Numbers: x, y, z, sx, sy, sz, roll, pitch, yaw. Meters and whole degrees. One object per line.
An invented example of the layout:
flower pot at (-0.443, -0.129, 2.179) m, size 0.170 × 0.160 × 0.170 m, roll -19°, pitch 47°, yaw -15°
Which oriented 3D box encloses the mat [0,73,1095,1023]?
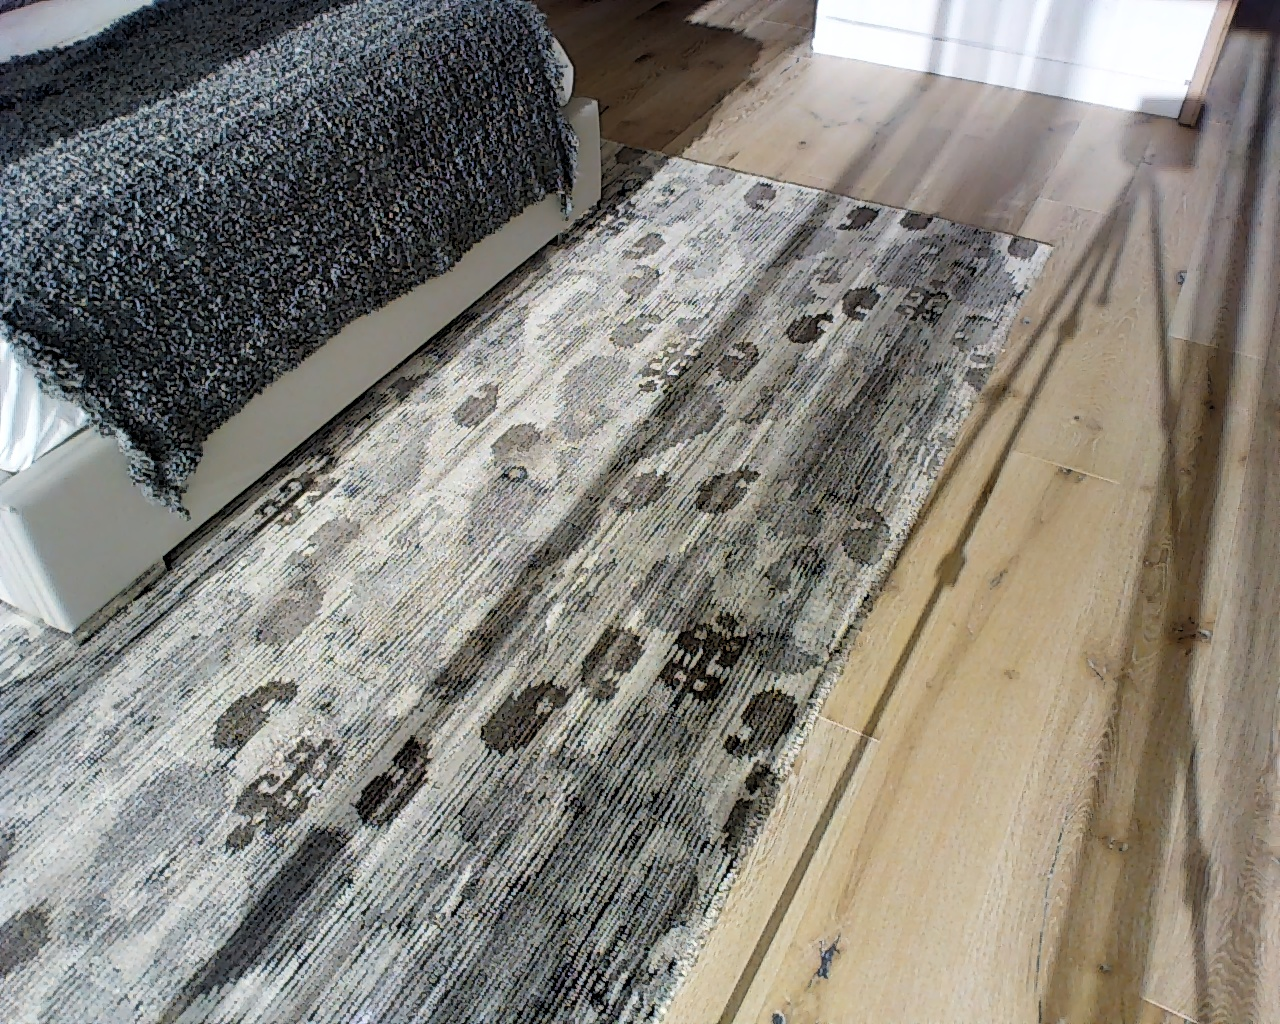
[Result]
mat at (-0.530, -0.260, 2.600) m, size 2.500 × 0.110 × 3.170 m, roll 20°, pitch 46°, yaw 21°
